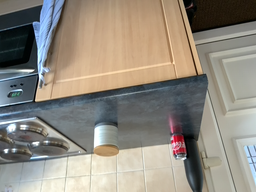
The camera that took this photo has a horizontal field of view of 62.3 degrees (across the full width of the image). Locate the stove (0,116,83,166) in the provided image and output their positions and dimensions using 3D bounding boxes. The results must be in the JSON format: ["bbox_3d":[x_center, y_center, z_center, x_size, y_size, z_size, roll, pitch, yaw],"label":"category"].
[{"bbox_3d":[-0.630,0.270,1.100,0.620,0.030,0.530,-9,149,9],"label":"stove"}]
